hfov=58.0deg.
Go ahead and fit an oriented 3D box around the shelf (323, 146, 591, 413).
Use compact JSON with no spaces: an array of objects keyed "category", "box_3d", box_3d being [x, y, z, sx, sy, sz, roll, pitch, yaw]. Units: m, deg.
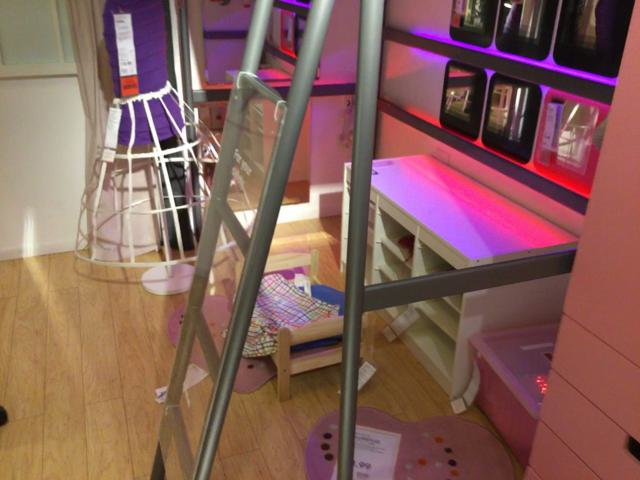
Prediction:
[{"category":"shelf","box_3d":[0.440,0.060,2.350,0.470,0.600,1.100,-9,25,-20]}]
